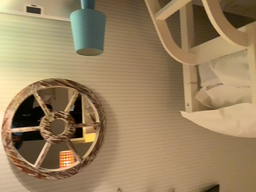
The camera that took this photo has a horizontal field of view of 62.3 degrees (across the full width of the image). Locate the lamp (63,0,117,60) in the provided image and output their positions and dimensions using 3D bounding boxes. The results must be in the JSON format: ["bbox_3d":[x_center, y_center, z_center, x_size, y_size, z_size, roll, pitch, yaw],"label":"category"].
[{"bbox_3d":[-0.190,-0.390,1.000,0.190,0.380,0.230,0,176,-25],"label":"lamp"}]
